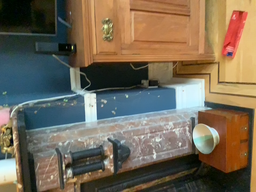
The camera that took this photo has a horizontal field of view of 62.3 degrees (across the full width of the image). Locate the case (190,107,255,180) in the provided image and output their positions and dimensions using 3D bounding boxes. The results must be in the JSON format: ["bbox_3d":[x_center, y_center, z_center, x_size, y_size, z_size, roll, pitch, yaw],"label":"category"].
[{"bbox_3d":[0.620,0.250,1.290,0.390,0.270,0.290,13,106,63],"label":"case"}]

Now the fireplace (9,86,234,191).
[{"bbox_3d":[0.030,0.930,1.420,0.490,1.270,1.890,13,106,63],"label":"fireplace"}]
